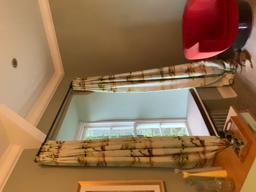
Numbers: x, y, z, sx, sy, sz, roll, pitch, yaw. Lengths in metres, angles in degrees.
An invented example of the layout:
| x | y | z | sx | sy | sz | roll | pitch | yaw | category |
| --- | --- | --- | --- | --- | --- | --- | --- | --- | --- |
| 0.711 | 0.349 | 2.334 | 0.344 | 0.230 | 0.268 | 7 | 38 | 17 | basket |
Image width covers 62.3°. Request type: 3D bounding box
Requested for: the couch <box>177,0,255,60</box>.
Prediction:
| x | y | z | sx | sy | sz | roll | pitch | yaw | category |
| --- | --- | --- | --- | --- | --- | --- | --- | --- | --- |
| 1.100 | -0.920 | 2.810 | 0.780 | 0.700 | 0.760 | -91 | -1 | -88 | couch |
